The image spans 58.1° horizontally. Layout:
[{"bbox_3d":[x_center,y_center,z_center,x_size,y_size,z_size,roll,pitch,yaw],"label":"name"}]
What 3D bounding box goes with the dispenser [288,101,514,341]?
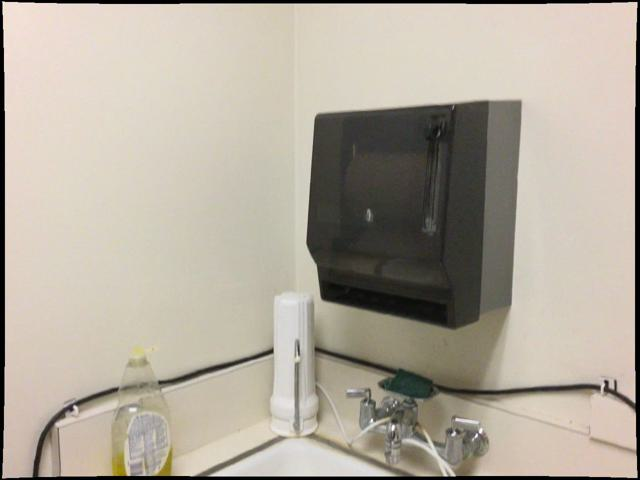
[{"bbox_3d":[0.150,-0.050,1.120,0.340,0.381,0.260,6,9,41],"label":"dispenser"}]
